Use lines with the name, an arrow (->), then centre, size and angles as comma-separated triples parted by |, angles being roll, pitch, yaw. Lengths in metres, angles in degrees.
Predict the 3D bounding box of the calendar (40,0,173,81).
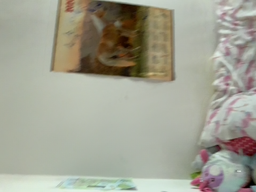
calendar -> -0.140, -0.510, 1.790 | 0.120, 1.030, 0.680 | 119, 154, -73
